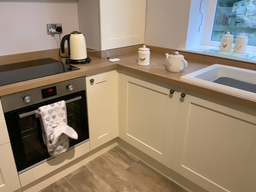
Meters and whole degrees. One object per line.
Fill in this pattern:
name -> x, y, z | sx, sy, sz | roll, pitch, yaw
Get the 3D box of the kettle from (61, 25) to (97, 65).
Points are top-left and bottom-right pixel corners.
kettle -> -0.410, -0.440, 1.800 | 0.220, 0.280, 0.170 | -20, 31, -40
